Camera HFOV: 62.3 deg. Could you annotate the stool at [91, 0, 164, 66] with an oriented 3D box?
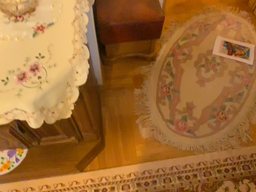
[{"bbox_3d":[-0.030,-0.530,1.520,0.420,0.400,0.430,-6,59,-5],"label":"stool"}]
